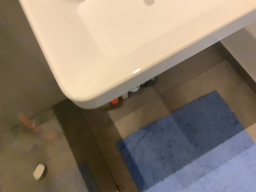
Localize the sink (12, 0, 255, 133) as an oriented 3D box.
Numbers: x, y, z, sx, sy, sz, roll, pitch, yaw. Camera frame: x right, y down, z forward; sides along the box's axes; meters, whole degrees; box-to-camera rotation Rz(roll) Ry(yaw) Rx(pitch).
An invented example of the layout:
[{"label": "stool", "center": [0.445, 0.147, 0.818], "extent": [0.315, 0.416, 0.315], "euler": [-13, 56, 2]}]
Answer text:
[{"label": "sink", "center": [0.120, -0.320, 0.570], "extent": [0.780, 0.170, 0.480], "euler": [-30, 71, -5]}]
